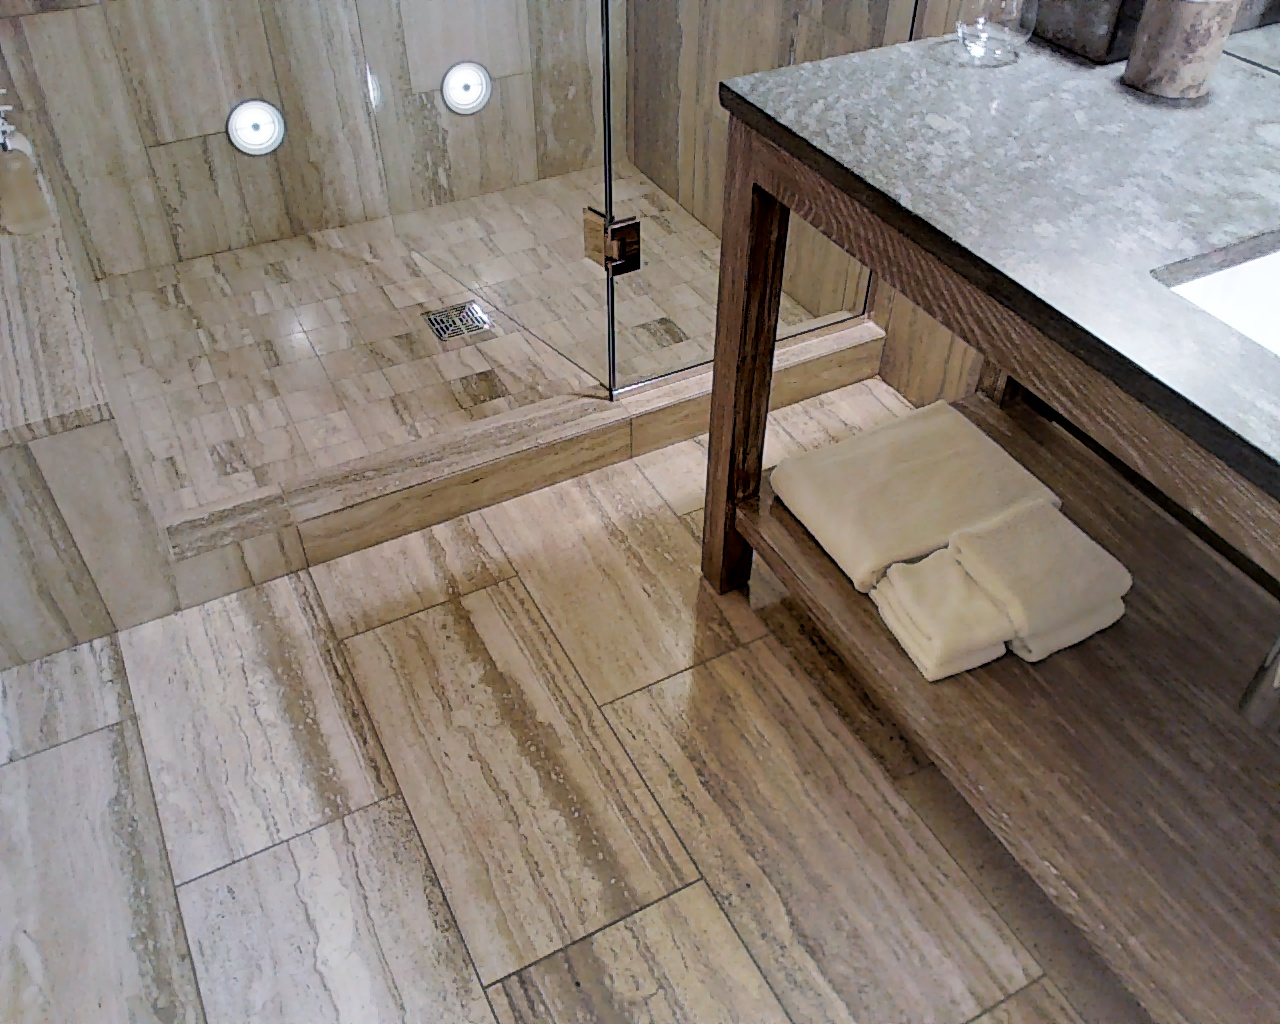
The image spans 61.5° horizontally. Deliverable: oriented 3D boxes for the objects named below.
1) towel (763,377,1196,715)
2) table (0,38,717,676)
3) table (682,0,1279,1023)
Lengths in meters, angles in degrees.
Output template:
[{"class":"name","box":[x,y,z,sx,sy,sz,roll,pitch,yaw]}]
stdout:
[{"class":"towel","box":[0.460,0.020,1.540,0.360,0.100,0.480,-19,46,-19]},{"class":"table","box":[-0.710,-0.420,2.080,1.320,0.420,1.110,-19,46,-19]},{"class":"table","box":[0.710,0.150,1.130,0.630,0.810,1.590,-19,46,-19]}]
